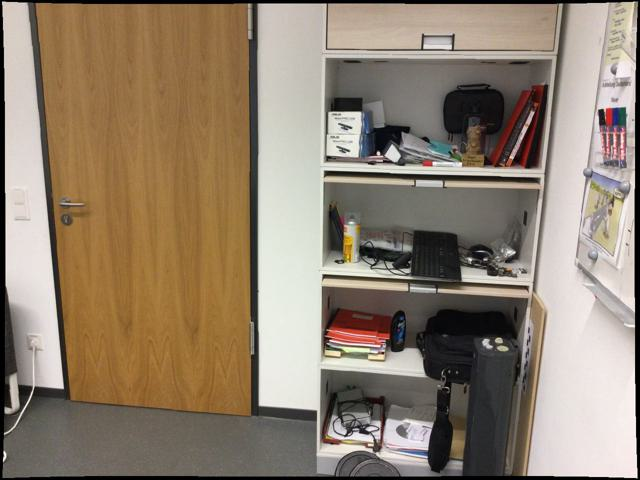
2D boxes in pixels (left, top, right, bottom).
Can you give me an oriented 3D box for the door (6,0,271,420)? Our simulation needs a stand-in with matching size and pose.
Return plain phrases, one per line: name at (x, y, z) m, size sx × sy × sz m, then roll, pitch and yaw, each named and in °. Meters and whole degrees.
door at (-0.789, -0.120, 2.660) m, size 1.099 × 1.962 × 0.100 m, roll 2°, pitch 14°, yaw 8°
